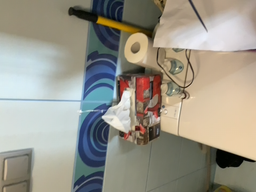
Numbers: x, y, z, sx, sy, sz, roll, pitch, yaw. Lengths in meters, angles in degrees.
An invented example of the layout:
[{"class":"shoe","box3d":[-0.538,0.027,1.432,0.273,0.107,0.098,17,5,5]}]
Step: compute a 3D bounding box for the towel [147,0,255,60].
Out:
[{"class":"towel","box3d":[0.230,-0.220,0.580,0.320,0.130,0.210,14,98,44]}]
